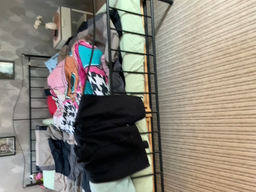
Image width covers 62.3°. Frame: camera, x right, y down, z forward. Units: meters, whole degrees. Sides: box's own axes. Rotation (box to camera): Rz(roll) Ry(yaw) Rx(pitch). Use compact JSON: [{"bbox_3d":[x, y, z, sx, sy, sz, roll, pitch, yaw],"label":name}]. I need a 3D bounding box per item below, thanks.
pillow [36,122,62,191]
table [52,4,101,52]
[{"bbox_3d":[-1.060,0.780,2.810,0.370,0.240,0.840,-8,83,58],"label":"pillow"},{"bbox_3d":[-0.750,-0.950,3.070,0.470,0.550,0.460,-4,87,57],"label":"table"}]
